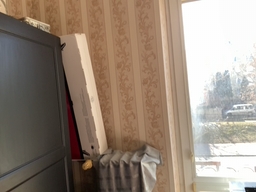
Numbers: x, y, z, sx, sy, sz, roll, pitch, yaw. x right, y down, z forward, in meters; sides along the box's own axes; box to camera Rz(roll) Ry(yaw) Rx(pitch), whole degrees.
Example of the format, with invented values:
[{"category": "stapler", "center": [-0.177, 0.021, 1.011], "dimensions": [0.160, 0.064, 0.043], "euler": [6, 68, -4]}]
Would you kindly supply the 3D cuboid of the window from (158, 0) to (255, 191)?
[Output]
[{"category": "window", "center": [1.040, -0.190, 1.390], "dimensions": [1.590, 1.850, 0.140], "euler": [-4, 1, 17]}]
